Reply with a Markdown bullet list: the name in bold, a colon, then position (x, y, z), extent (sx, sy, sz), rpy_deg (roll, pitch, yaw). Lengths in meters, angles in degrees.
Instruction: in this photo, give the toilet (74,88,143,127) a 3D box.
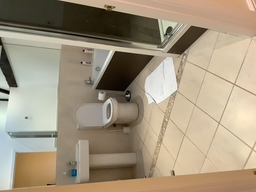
- **toilet**: position (-0.330, 0.200, 3.170), extent (0.650, 0.870, 0.380), rpy_deg (134, 134, -61)
